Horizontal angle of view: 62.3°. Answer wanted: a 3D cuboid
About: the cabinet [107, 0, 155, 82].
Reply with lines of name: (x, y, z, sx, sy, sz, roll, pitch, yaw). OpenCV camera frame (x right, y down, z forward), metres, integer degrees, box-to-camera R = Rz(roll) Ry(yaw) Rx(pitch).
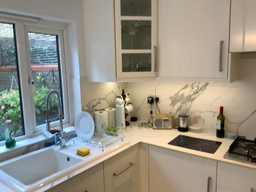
cabinet: (0.010, -0.630, 2.240, 0.410, 0.910, 0.550, -2, 9, -8)

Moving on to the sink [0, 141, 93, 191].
sink: (-0.660, 0.580, 1.560, 0.550, 0.220, 0.570, 5, 11, 36)
